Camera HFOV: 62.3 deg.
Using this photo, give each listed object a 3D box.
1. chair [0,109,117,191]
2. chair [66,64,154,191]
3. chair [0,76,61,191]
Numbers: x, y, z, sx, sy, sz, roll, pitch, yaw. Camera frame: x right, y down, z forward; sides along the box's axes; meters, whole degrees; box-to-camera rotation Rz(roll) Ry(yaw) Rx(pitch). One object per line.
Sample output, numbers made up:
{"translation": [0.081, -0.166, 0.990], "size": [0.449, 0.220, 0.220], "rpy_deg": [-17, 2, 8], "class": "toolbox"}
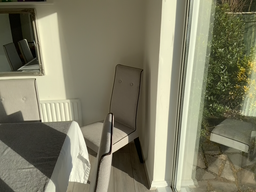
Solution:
{"translation": [-0.370, 0.630, 1.120], "size": [0.620, 1.010, 0.450], "rpy_deg": [-1, 21, -3], "class": "chair"}
{"translation": [-0.160, 0.260, 2.130], "size": [0.510, 0.990, 0.630], "rpy_deg": [20, 29, 41], "class": "chair"}
{"translation": [-0.870, 0.430, 1.640], "size": [0.500, 1.010, 0.620], "rpy_deg": [-4, 22, -10], "class": "chair"}
